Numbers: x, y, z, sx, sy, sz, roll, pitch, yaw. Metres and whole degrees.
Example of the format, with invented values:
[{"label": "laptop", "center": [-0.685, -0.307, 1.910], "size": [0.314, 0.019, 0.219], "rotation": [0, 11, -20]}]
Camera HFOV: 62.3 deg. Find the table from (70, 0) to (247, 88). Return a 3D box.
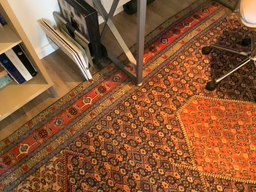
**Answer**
[{"label": "table", "center": [0.330, -0.870, 1.550], "size": [1.350, 0.760, 0.720], "rotation": [-38, 66, -20]}]
